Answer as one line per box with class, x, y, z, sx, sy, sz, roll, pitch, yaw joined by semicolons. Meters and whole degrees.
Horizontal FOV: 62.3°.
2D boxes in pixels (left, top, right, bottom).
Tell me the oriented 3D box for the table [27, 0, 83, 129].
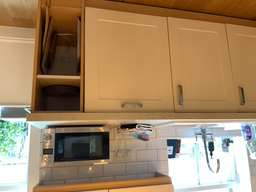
table;-0.510;-0.230;1.580;0.300;0.900;0.600;1;168;-15
